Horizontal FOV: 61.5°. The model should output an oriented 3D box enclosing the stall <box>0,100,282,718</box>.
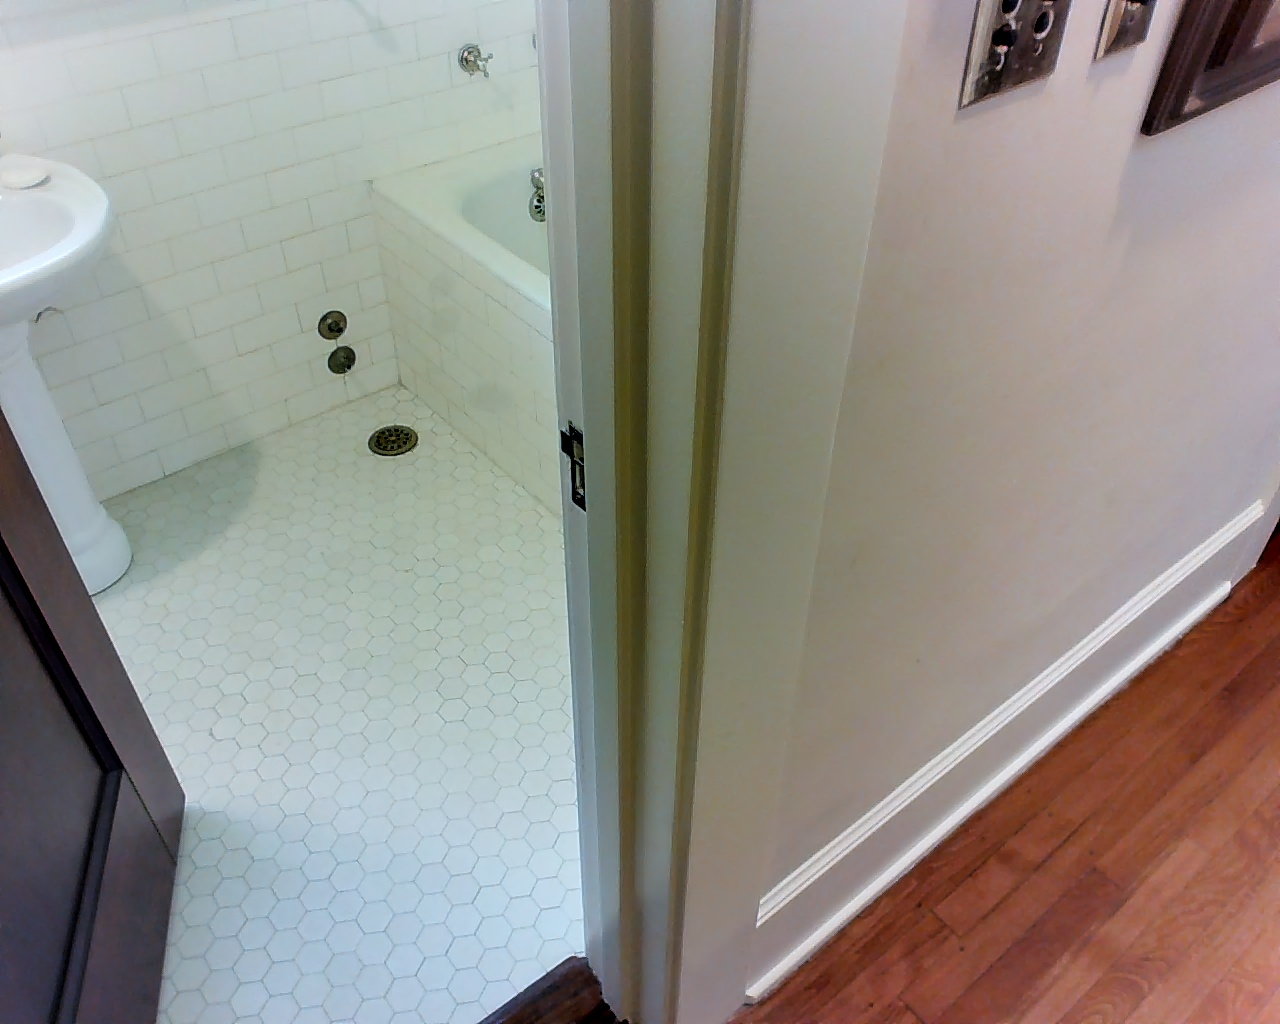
[{"bbox_3d":[-1.130,-0.170,1.920,0.620,0.830,0.510,-28,49,-28],"label":"stall"}]
